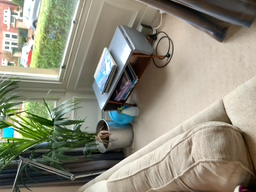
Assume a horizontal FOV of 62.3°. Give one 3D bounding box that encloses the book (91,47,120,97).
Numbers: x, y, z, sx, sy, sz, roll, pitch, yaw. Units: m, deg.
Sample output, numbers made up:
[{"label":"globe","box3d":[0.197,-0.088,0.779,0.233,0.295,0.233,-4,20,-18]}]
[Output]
[{"label":"book","box3d":[-0.230,-0.230,2.050,0.360,0.080,0.310,-59,41,38]}]
